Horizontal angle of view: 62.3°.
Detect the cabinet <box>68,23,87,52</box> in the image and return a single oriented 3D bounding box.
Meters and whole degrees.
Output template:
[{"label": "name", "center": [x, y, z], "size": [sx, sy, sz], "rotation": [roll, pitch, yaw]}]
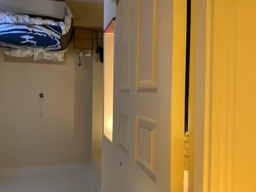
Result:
[{"label": "cabinet", "center": [-1.290, -1.450, 5.360], "size": [0.410, 0.540, 0.610], "rotation": [1, -179, -17]}]
